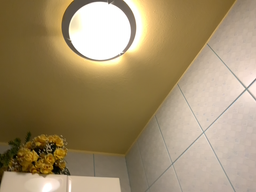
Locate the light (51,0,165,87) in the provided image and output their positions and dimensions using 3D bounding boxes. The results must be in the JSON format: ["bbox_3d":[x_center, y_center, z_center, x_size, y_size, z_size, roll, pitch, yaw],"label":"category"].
[{"bbox_3d":[-0.090,-0.220,0.770,0.130,0.300,0.320,-104,-147,-45],"label":"light"}]
